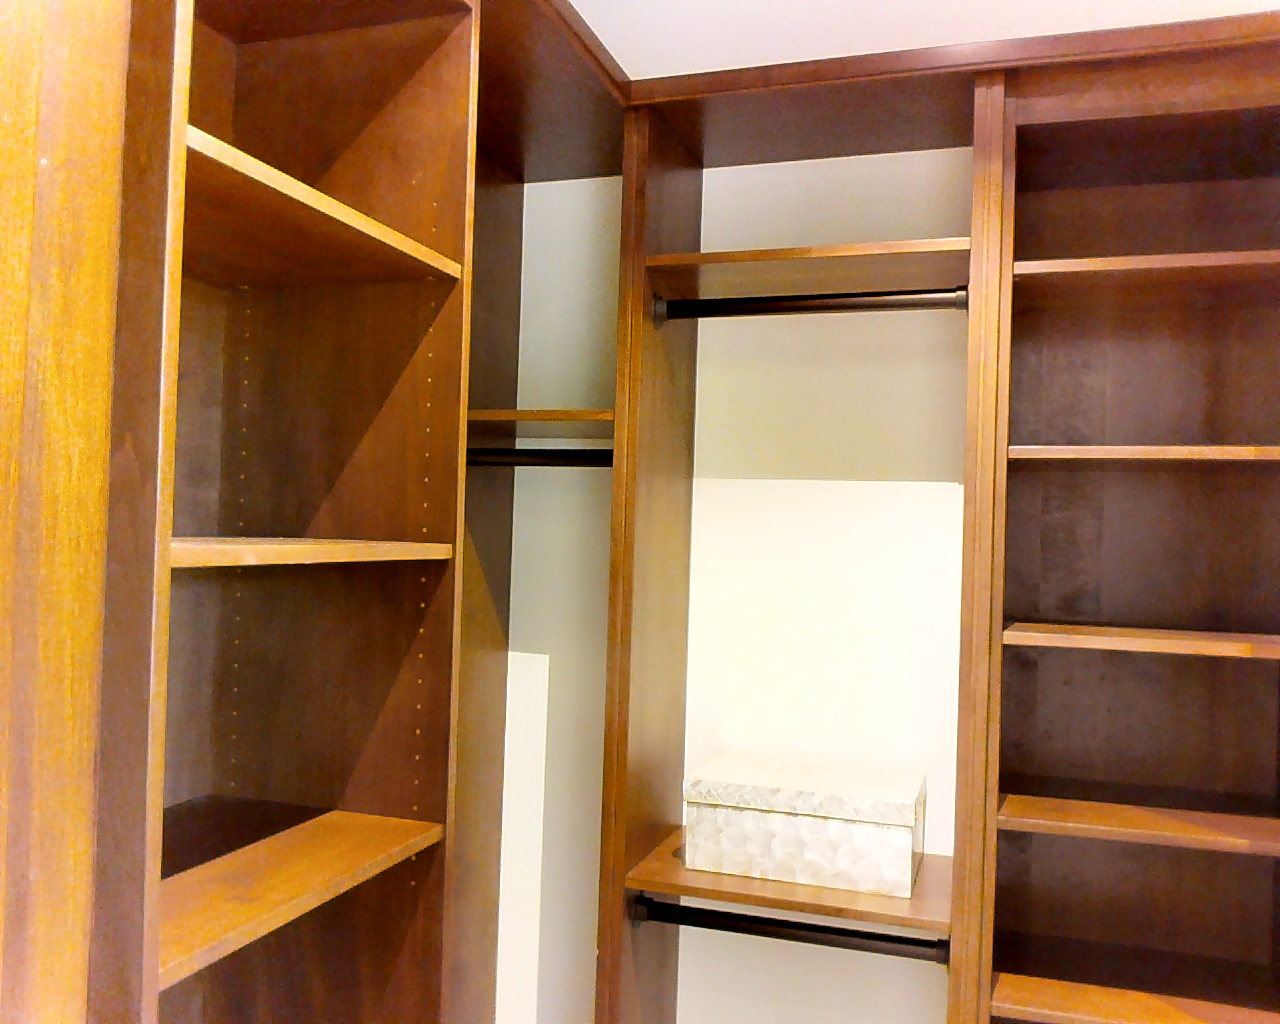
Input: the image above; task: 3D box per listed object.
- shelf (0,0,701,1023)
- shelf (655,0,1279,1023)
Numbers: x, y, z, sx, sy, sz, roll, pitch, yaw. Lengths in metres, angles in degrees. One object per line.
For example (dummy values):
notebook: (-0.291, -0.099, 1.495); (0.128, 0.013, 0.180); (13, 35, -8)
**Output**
shelf: (-0.390, 0.470, 1.530); (0.500, 2.430, 1.550); (1, -1, 18)
shelf: (0.590, 0.450, 1.820); (1.020, 2.500, 0.450); (1, -1, 18)
